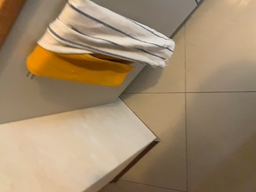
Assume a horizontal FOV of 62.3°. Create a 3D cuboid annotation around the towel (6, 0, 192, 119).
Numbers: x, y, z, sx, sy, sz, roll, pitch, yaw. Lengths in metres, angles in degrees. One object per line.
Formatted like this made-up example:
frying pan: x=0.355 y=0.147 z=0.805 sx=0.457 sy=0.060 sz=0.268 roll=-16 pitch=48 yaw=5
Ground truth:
towel: x=0.010 y=-0.110 z=0.670 sx=0.110 sy=0.650 sz=0.280 roll=48 pitch=111 yaw=15
